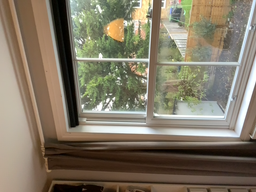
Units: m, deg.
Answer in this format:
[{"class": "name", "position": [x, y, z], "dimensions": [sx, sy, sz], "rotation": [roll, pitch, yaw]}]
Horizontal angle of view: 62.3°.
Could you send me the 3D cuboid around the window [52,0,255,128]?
[{"class": "window", "position": [0.210, -0.240, 1.660], "dimensions": [0.030, 1.470, 1.130], "rotation": [-86, -3, -62]}]
